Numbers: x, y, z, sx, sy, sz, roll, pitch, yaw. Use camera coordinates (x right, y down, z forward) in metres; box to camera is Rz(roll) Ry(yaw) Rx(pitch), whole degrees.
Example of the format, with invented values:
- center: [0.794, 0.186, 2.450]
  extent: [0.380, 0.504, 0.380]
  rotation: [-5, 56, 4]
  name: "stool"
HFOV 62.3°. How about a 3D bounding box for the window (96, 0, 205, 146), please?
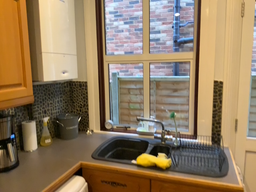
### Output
- center: [0.170, -0.380, 1.900]
  extent: [0.950, 1.600, 0.070]
  rotation: [2, 9, 19]
  name: "window"
